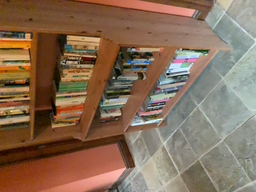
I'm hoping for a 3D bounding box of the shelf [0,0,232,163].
[{"bbox_3d":[-0.410,-0.050,1.320,0.350,1.930,1.030,64,144,32],"label":"shelf"}]
